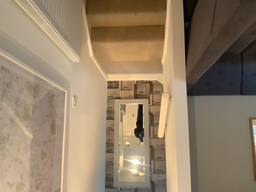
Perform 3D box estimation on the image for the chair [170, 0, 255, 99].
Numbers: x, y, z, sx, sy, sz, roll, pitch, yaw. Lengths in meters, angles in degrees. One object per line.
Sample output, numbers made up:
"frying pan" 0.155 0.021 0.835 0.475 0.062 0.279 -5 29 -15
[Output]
"chair" 0.840 -0.590 1.770 0.740 0.950 1.790 0 170 4
